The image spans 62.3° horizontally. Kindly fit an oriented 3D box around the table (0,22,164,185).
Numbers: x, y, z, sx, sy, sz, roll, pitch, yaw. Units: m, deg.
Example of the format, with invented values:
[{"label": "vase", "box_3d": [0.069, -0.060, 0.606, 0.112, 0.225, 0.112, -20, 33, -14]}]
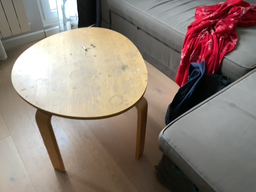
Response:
[{"label": "table", "box_3d": [-0.260, -0.020, 1.230, 0.640, 0.460, 0.750, -9, 45, -12]}]
